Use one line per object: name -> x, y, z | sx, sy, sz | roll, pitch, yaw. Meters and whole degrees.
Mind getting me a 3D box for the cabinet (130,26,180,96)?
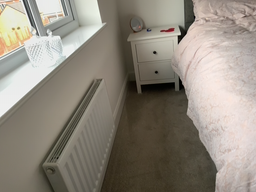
cabinet -> 0.330, -0.410, 2.480 | 0.490, 0.660, 0.430 | -4, 29, 9
